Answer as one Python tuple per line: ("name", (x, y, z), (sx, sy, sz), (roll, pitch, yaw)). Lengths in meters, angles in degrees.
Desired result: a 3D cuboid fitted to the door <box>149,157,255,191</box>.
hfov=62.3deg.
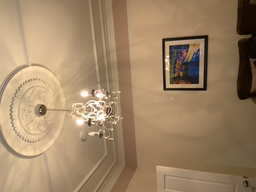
("door", (1.300, 1.420, 2.790), (0.150, 2.050, 0.990), (-33, -58, -67))
